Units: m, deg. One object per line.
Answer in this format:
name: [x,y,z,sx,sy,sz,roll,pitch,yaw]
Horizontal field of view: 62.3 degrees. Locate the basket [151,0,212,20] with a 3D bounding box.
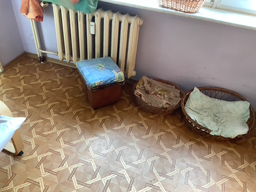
basket: [0.420,-0.760,1.650,0.410,0.160,0.310,14,41,8]
